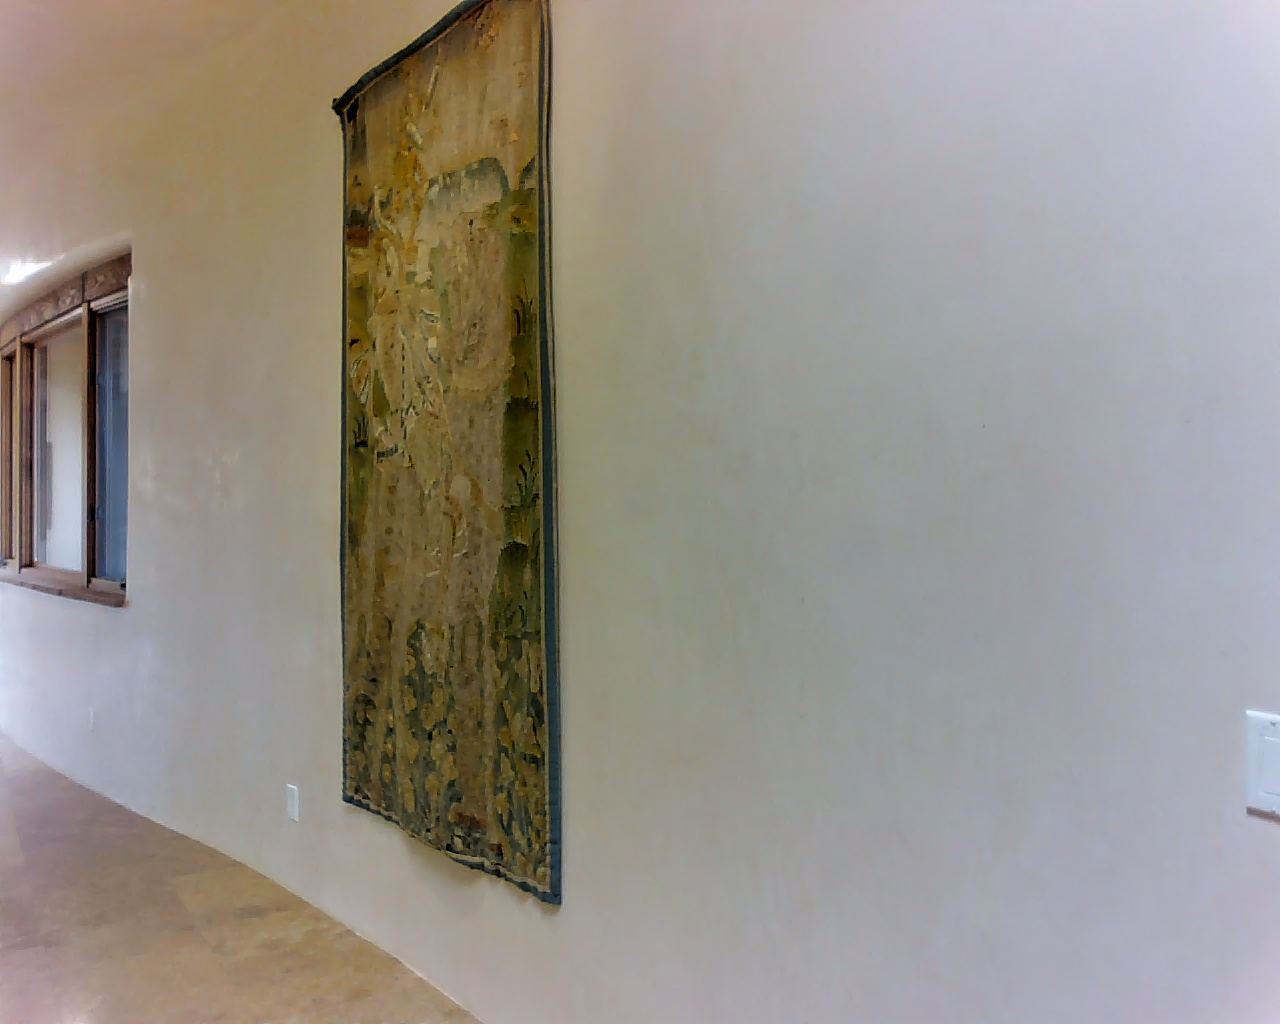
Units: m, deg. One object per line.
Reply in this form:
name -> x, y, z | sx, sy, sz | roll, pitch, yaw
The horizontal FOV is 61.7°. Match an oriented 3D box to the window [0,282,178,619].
window -> -3.389, -0.290, 6.290 | 0.290, 1.580, 3.130 | 0, 0, -41

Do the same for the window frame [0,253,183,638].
window frame -> -3.449, -0.300, 6.240 | 0.440, 1.730, 3.400 | 0, 0, -41
